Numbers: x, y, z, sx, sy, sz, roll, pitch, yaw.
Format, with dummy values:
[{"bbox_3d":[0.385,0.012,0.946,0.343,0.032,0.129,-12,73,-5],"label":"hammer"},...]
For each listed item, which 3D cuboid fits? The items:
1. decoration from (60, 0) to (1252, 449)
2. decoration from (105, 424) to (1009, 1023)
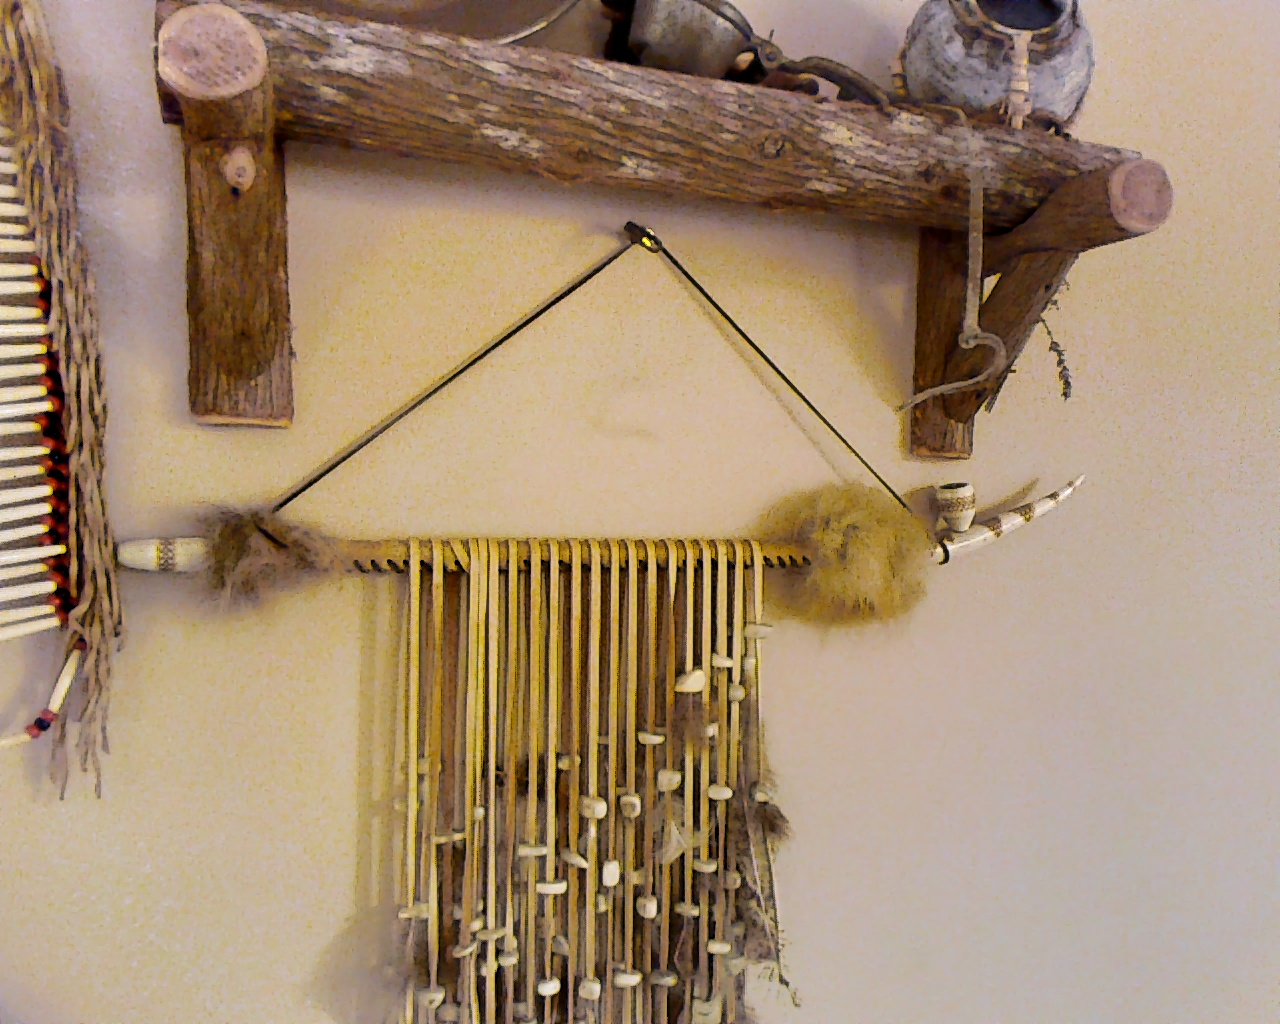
[{"bbox_3d":[0.040,-0.310,0.670,0.680,0.510,0.210,1,0,-21],"label":"decoration"},{"bbox_3d":[-0.020,0.260,0.730,0.610,0.610,0.060,1,0,-21],"label":"decoration"}]
